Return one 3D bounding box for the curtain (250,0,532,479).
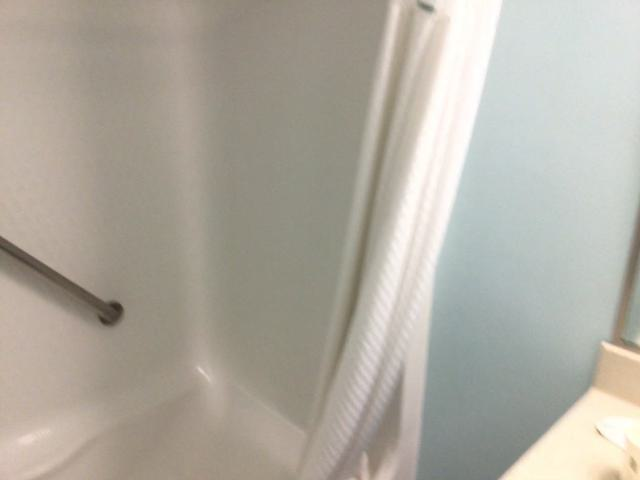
[{"bbox_3d":[0.100,-0.010,1.140,0.390,1.520,0.280,19,24,40],"label":"curtain"}]
